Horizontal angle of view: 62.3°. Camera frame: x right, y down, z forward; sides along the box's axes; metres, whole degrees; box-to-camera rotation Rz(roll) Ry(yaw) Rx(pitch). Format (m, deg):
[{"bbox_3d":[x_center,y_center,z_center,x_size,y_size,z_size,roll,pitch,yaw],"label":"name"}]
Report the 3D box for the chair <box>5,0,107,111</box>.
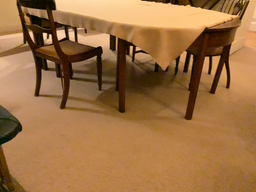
[{"bbox_3d":[-0.560,-0.480,1.780,0.530,0.940,0.550,24,35,32],"label":"chair"}]
